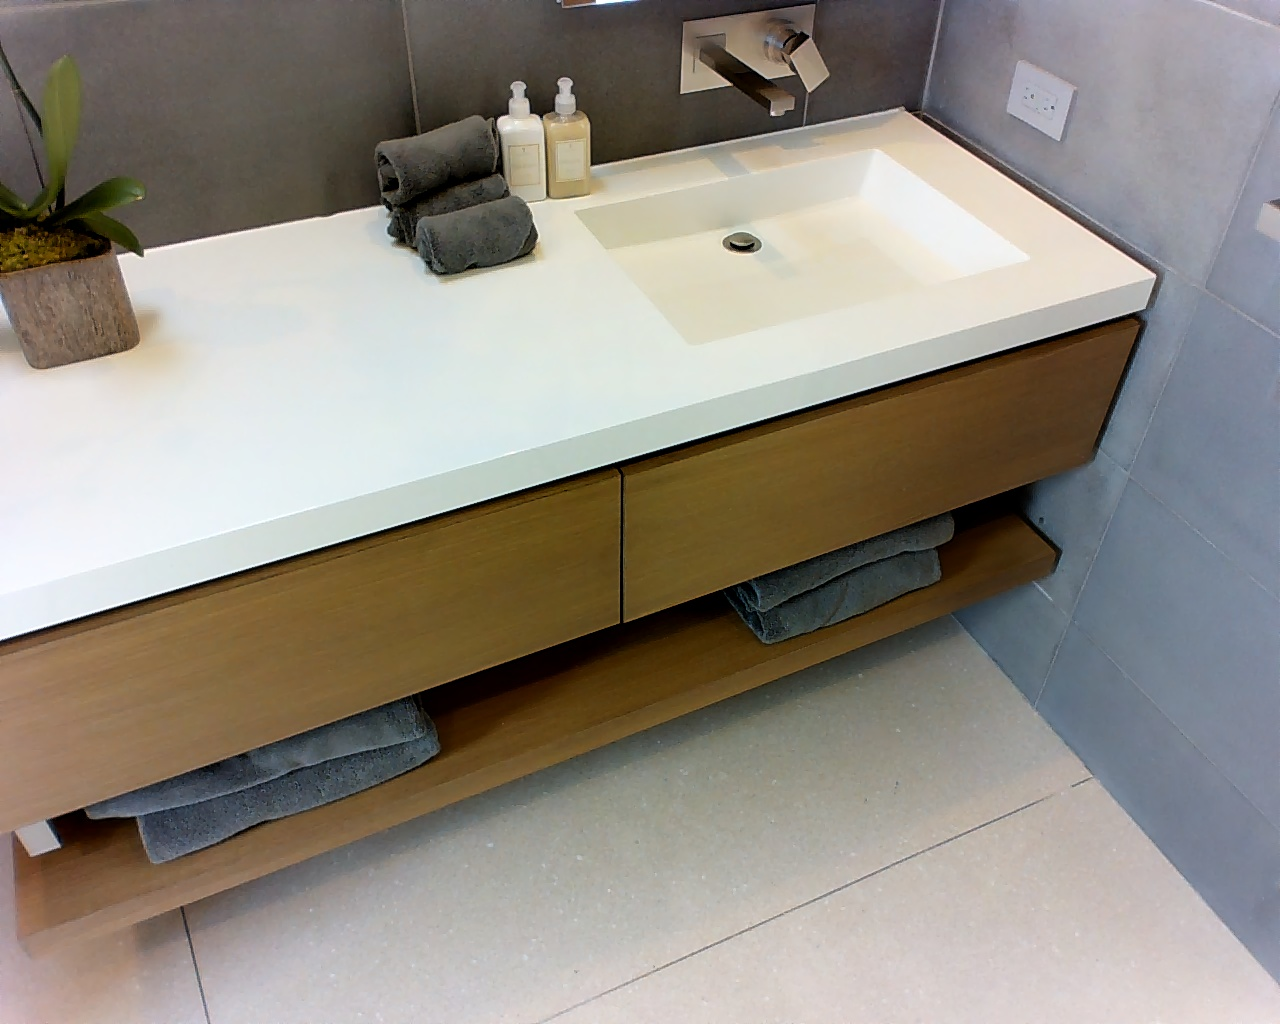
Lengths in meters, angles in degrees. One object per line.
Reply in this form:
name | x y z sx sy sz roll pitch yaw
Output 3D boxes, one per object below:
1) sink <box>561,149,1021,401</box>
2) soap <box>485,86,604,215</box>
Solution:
sink | 0.200 -0.350 1.500 0.520 0.090 0.350 -18 45 -21
soap | -0.130 -0.500 1.490 0.140 0.130 0.080 -17 45 -19
